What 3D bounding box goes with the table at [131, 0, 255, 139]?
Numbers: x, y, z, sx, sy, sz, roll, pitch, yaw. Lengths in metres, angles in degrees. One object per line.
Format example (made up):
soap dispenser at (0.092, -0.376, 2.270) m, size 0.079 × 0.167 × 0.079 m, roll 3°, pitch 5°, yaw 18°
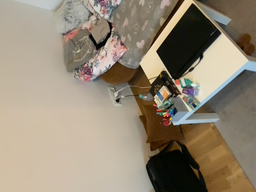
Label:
table at (0.470, -0.170, 1.420) m, size 0.610 × 0.470 × 0.630 m, roll -53°, pitch 50°, yaw 38°
